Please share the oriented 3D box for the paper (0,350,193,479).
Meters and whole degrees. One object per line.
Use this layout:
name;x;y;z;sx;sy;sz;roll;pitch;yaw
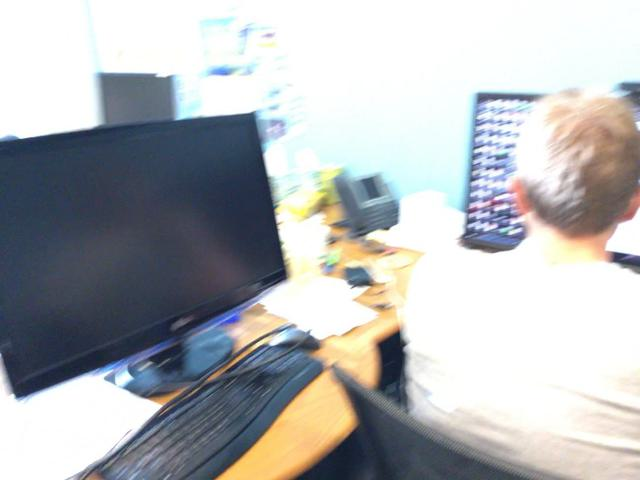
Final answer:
paper;-0.420;0.300;0.930;0.310;0.040;0.290;15;24;37
